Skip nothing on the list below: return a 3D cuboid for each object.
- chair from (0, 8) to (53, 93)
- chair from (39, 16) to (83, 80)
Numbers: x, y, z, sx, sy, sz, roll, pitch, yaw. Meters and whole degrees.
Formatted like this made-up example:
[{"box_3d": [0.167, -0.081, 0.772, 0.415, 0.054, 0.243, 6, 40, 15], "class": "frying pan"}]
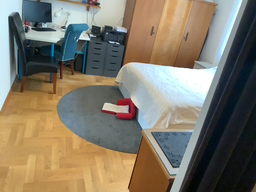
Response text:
[{"box_3d": [-1.500, -0.670, 3.200, 0.630, 1.080, 0.560, 3, 25, -21], "class": "chair"}, {"box_3d": [-1.260, -0.890, 3.950, 0.560, 1.000, 0.410, 21, 25, 19], "class": "chair"}]
